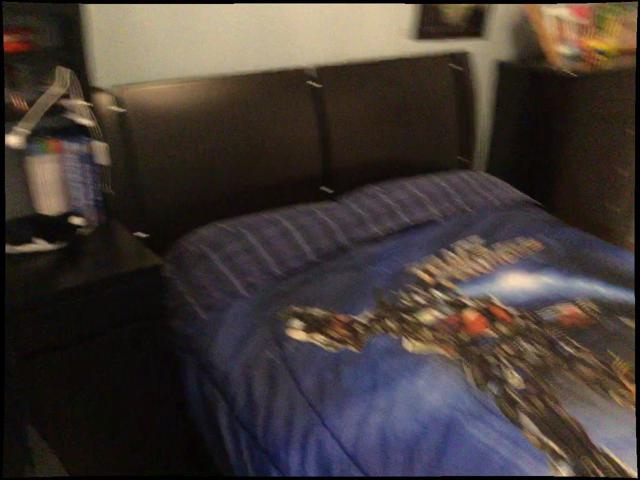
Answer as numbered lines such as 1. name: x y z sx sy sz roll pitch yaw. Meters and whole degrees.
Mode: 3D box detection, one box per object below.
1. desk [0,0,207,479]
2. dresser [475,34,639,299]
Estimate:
1. desk: -0.939 0.140 1.270 1.089 1.351 0.570 -18 30 -31
2. dresser: 1.239 -0.380 2.680 0.909 0.981 0.420 -18 30 -31
